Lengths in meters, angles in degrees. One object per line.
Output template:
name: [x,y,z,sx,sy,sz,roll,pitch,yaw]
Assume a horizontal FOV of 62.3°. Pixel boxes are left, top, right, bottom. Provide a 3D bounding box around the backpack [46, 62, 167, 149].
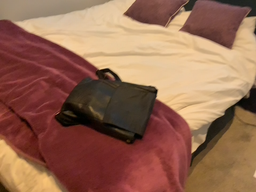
backpack: [-0.070,0.010,0.920,0.410,0.070,0.340,17,39,11]
